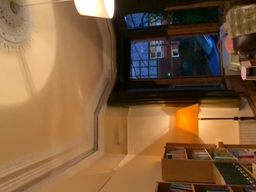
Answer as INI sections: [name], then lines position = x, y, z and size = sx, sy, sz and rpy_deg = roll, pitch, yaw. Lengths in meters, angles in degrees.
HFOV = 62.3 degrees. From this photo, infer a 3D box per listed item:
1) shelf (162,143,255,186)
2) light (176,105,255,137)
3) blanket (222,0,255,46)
[shelf]
position = 1.500, 0.960, 3.070
size = 0.800, 1.960, 0.350
rpy_deg = 12, -102, -78
[light]
position = 1.760, 0.460, 3.880
size = 0.620, 1.700, 0.510
rpy_deg = 33, -124, -76
[blanket]
position = 1.810, -1.110, 3.120
size = 0.760, 0.620, 0.540
rpy_deg = 3, -94, -78
